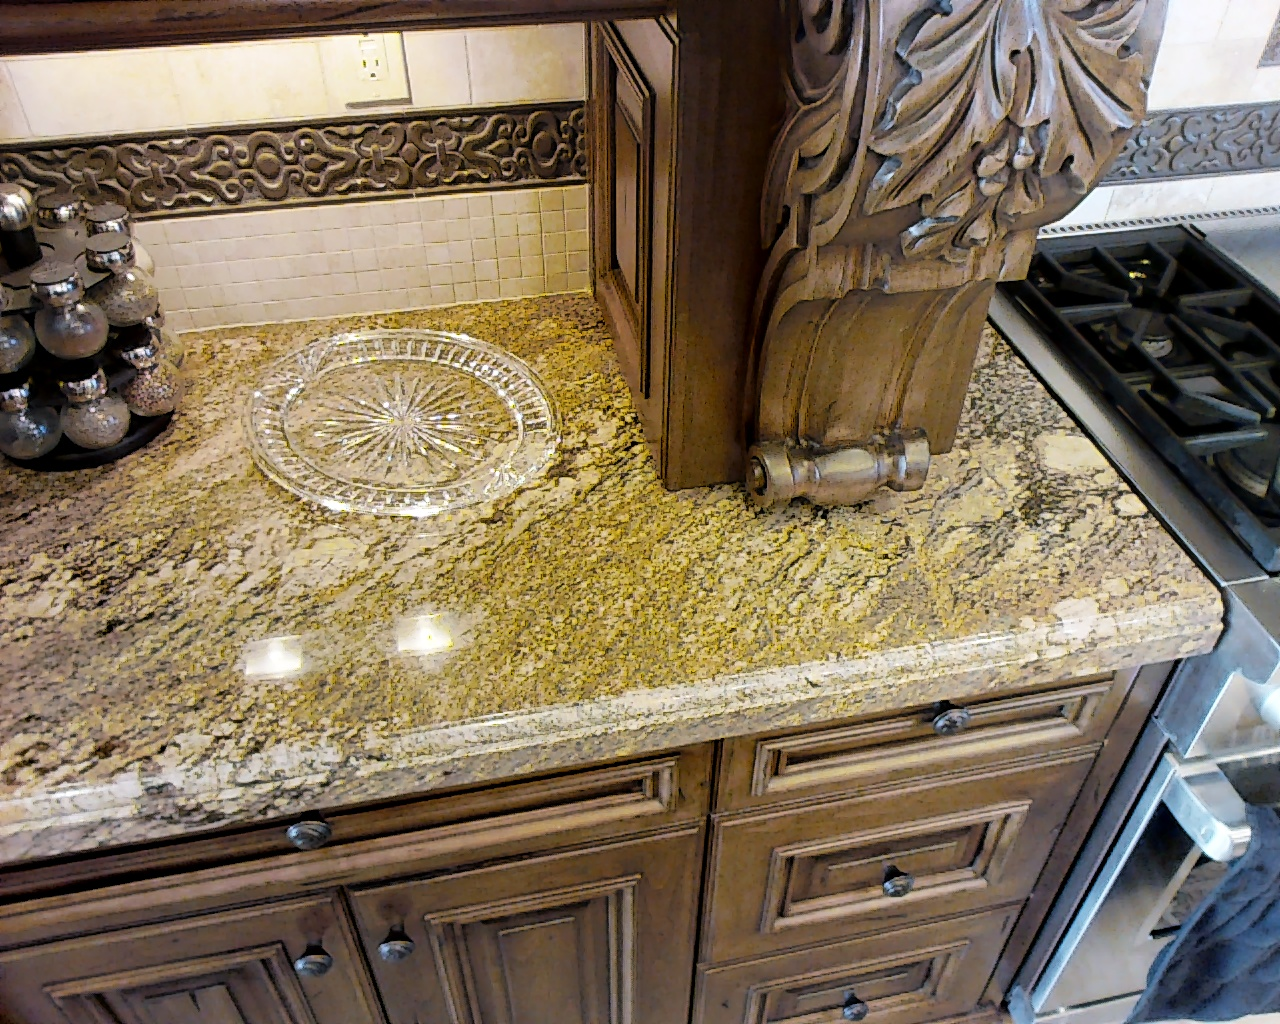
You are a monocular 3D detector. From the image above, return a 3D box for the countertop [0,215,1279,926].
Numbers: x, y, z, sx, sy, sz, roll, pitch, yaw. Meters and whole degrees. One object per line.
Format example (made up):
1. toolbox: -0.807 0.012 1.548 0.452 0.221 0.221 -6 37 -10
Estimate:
1. countertop: 1.130 -0.180 1.240 3.640 0.060 0.690 -8 42 -9
